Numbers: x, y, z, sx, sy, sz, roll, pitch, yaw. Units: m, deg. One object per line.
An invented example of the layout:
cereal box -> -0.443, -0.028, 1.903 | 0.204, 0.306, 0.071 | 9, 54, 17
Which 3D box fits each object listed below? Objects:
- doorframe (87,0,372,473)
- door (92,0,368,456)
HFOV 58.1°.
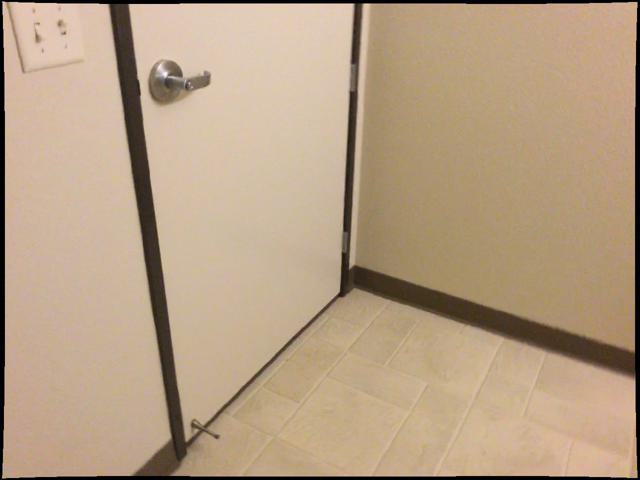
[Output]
doorframe -> -0.130, -0.461, 1.530 | 0.050, 2.024, 1.060 | 17, 32, 27
door -> -0.140, -0.461, 1.530 | 0.070, 1.964, 0.990 | 17, 33, 27
